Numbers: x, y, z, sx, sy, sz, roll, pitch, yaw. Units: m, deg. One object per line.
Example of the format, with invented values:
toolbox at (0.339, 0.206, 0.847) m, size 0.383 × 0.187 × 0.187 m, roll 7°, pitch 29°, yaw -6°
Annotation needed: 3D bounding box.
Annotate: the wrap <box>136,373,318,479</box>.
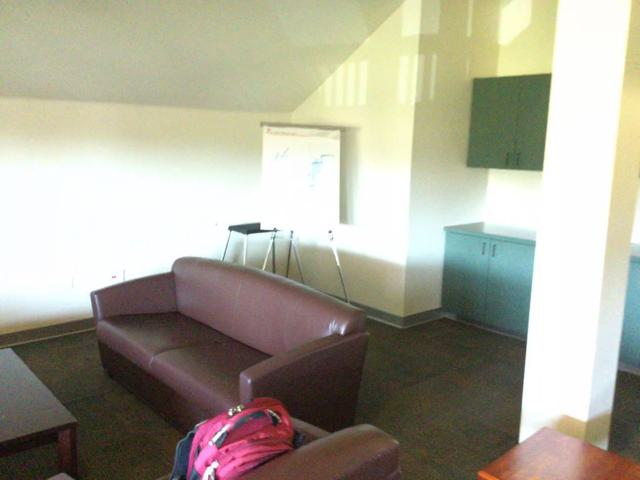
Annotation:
wrap at (-0.260, 0.630, 1.630) m, size 0.390 × 0.340 × 0.330 m, roll -8°, pitch 8°, yaw -32°
